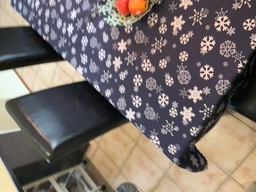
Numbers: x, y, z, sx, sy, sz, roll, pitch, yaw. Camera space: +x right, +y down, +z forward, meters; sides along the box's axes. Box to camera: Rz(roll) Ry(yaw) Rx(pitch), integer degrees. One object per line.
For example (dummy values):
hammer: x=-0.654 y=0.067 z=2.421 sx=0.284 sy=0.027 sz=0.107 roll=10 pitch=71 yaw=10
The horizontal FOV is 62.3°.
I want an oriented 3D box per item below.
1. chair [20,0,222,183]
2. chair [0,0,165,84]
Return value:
chair: x=0.060 y=-0.070 z=1.250 sx=0.430 sy=1.070 sz=0.630 roll=34 pitch=113 yaw=31
chair: x=-0.330 y=-0.470 z=1.500 sx=0.430 sy=1.090 sz=0.640 roll=48 pitch=119 yaw=25
